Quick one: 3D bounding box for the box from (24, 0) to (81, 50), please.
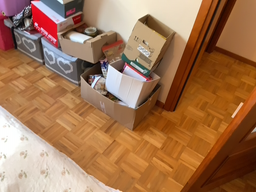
[{"bbox_3d":[-0.680,-0.690,1.940,0.430,0.320,0.240,31,47,20],"label":"box"}]
